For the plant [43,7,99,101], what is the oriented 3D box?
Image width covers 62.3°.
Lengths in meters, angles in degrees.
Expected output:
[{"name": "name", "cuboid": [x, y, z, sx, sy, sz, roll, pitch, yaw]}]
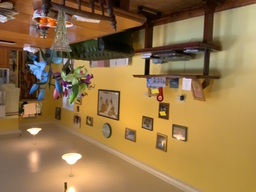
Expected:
[{"name": "plant", "cuboid": [-0.370, -0.250, 1.380, 0.270, 0.530, 0.220, -2, -174, -42]}]
